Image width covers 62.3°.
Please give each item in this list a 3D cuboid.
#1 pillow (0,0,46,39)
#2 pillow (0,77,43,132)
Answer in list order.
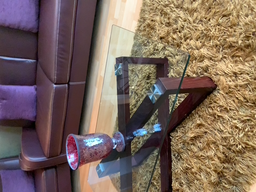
[{"bbox_3d":[-0.960,-0.750,1.740,0.140,0.400,0.450,35,141,45],"label":"pillow"},{"bbox_3d":[-1.150,0.080,2.130,0.160,0.400,0.380,28,140,50],"label":"pillow"}]
